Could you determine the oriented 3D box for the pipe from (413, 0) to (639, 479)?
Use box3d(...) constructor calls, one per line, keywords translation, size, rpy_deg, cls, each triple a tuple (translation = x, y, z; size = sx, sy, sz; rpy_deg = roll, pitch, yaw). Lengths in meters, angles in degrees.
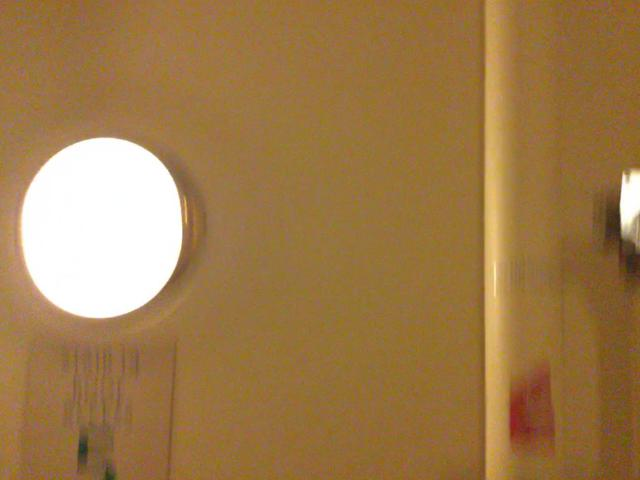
box3d(translation=(0.500, 0.030, 0.980), size=(0.530, 2.940, 0.360), rpy_deg=(7, -4, 0), cls="pipe")
